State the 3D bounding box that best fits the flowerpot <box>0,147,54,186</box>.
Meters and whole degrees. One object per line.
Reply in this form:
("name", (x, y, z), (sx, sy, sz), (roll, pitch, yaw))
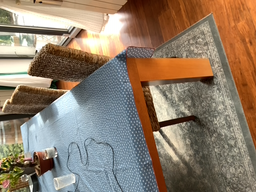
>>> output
("flowerpot", (-0.970, 0.600, 1.730), (0.210, 0.640, 0.190), (-24, 77, 51))
